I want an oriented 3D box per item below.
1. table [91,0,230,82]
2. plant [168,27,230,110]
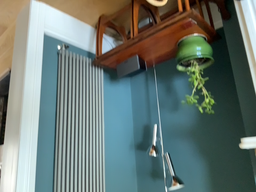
[{"bbox_3d":[0.250,-0.570,1.930,0.990,0.510,0.690,-17,159,39],"label":"table"},{"bbox_3d":[0.530,-0.180,1.600,0.260,0.500,0.330,-17,159,40],"label":"plant"}]
